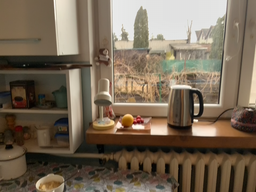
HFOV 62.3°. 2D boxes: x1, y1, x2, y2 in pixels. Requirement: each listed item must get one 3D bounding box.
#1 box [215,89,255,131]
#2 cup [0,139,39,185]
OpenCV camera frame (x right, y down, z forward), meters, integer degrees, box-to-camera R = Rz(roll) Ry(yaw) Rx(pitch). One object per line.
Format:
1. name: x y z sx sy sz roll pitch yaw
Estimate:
1. box: 0.830 0.080 1.230 0.550 0.180 0.260 2 13 10
2. cup: -0.600 0.340 1.120 0.150 0.150 0.190 2 13 8
